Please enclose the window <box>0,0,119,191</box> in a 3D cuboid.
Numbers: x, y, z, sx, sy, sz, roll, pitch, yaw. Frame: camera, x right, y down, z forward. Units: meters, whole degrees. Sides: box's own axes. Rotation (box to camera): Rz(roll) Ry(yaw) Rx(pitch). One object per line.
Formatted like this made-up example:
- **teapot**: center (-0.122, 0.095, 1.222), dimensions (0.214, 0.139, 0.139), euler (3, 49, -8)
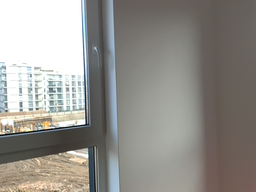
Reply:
- **window**: center (-0.560, 0.300, 0.940), dimensions (1.110, 2.250, 0.160), euler (-3, 2, -35)
